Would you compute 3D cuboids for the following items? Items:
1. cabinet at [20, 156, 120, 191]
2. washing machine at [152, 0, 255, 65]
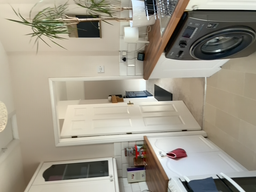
[{"bbox_3d":[-0.610,1.090,2.370,1.010,1.000,0.320,-120,29,-77],"label":"cabinet"},{"bbox_3d":[0.750,-0.720,1.800,0.610,0.930,0.700,111,157,-74],"label":"washing machine"}]
